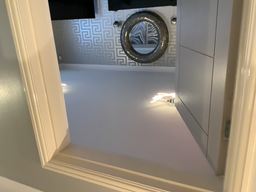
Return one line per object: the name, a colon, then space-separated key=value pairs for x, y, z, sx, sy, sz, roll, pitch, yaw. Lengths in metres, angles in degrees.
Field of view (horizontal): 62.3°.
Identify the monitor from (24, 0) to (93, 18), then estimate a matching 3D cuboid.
monitor: x=-1.330 y=-1.910 z=4.040 sx=1.250 sy=0.760 sz=0.070 roll=-5 pitch=-160 yaw=-7
